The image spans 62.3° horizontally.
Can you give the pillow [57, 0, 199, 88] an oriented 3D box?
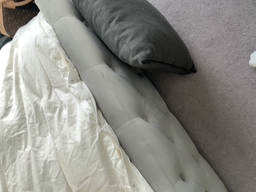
[{"bbox_3d":[0.000,-0.310,0.850,0.240,0.440,0.500,-38,75,22],"label":"pillow"}]
